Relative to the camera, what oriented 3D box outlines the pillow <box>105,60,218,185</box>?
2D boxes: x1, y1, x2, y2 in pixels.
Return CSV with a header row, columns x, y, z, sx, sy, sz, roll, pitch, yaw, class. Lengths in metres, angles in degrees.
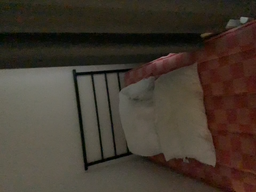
x,y,z,sx,sy,sz,roll,pitch,yaw,class
0.150,0.210,1.810,1.150,0.290,0.710,161,101,-66,pillow
